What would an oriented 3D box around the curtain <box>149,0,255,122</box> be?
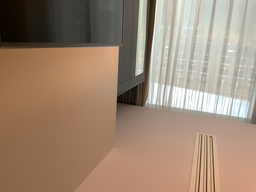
[{"bbox_3d":[1.150,-0.940,1.950,1.750,2.390,0.110,8,-165,18],"label":"curtain"}]
